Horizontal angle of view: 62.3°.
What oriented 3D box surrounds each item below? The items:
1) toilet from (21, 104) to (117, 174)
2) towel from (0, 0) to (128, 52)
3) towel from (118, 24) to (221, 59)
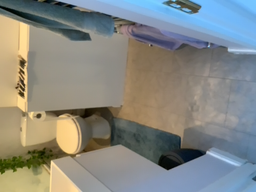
[{"bbox_3d":[-0.620,0.370,2.190,0.680,0.720,0.410,15,102,48],"label":"toilet"},{"bbox_3d":[-0.390,-0.340,0.880,0.410,0.650,0.200,20,106,47],"label":"towel"},{"bbox_3d":[0.260,-0.340,1.330,0.420,0.480,0.090,27,111,45],"label":"towel"}]
